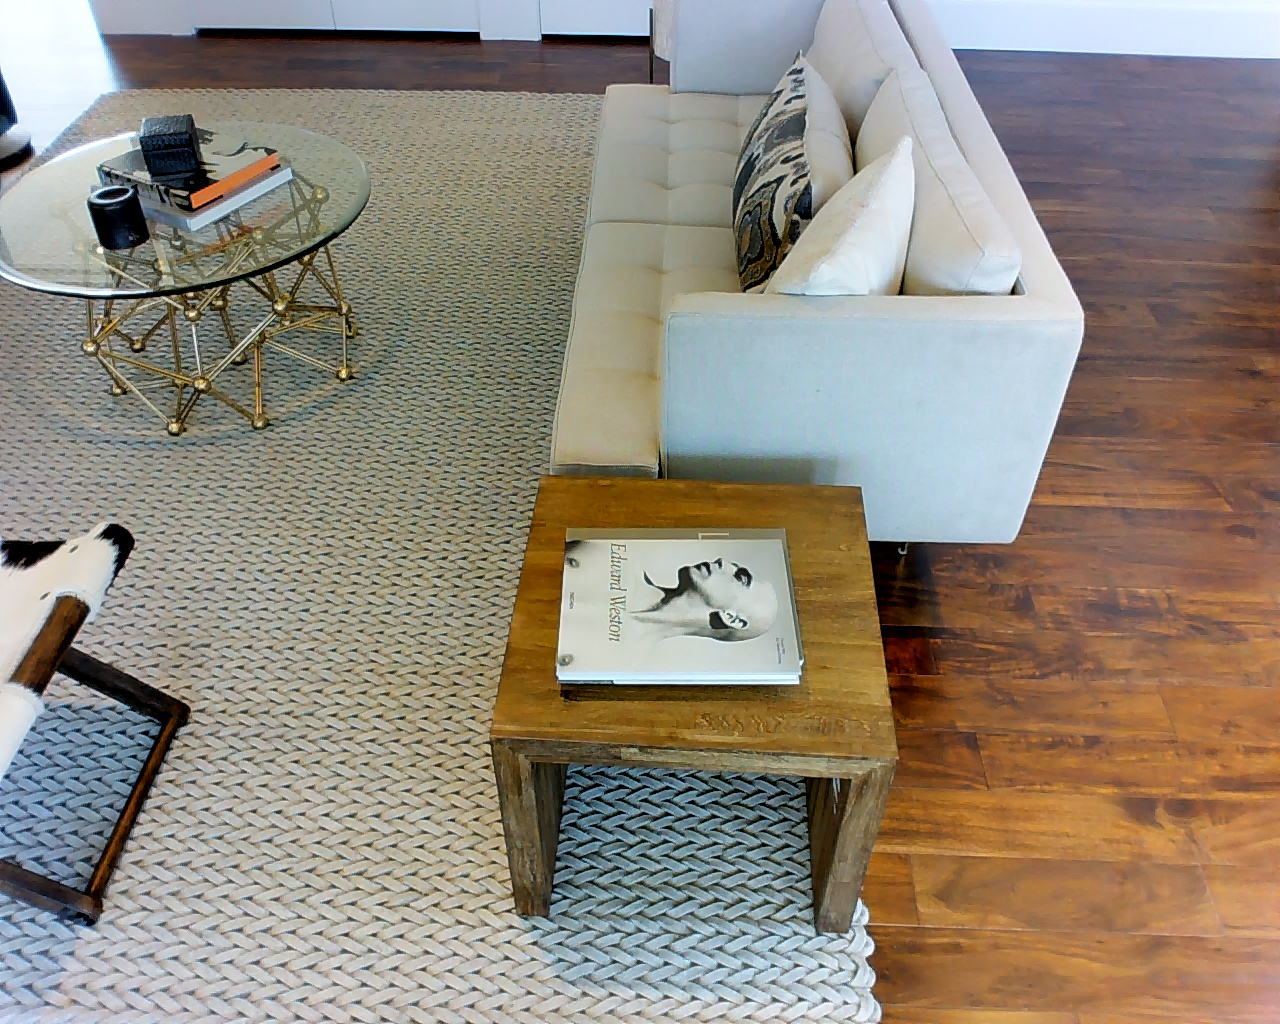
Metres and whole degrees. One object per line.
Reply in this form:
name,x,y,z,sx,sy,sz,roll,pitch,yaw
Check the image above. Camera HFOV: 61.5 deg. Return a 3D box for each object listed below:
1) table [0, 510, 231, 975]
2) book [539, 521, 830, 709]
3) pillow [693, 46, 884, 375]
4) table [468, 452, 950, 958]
table,-1.020,0.330,1.620,0.540,0.430,0.520,2,42,2
book,0.060,0.130,1.450,0.360,0.040,0.290,2,42,1
pillow,0.270,-0.620,2.150,0.190,0.340,0.640,21,40,-15
table,0.090,0.280,1.640,0.570,0.470,0.570,2,42,1
